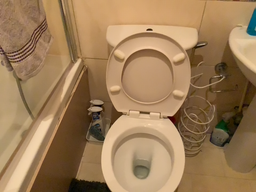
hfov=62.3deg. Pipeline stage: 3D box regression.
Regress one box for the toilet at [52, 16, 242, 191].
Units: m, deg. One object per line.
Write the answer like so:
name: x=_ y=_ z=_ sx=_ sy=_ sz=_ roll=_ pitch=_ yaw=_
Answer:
toilet: x=0.070 y=0.160 z=1.010 sx=0.440 sy=0.800 sz=0.670 roll=4 pitch=43 yaw=4
